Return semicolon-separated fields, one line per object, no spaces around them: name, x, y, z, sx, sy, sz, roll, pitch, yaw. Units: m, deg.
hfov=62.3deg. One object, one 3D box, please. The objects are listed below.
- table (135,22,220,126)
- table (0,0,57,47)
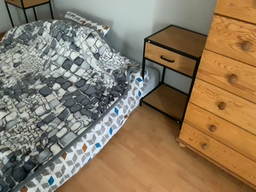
table;0.360;-0.180;1.690;0.430;0.610;0.380;29;46;28
table;-1.280;-1.050;2.680;0.410;0.630;0.470;29;46;28
